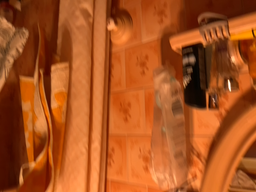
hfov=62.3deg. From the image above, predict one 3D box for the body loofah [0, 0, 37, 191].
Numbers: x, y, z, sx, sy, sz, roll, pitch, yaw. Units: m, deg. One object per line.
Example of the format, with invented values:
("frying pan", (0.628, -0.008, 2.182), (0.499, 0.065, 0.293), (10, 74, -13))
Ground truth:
("body loofah", (-0.520, 0.030, 0.730), (0.290, 0.780, 0.280), (5, 170, -36))
